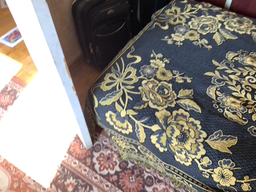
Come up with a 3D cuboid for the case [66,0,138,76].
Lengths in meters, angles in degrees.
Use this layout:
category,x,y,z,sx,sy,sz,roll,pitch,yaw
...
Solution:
category,x,y,z,sx,sy,sz,roll,pitch,yaw
case,-0.150,-0.490,1.540,0.270,0.480,0.410,26,56,20
